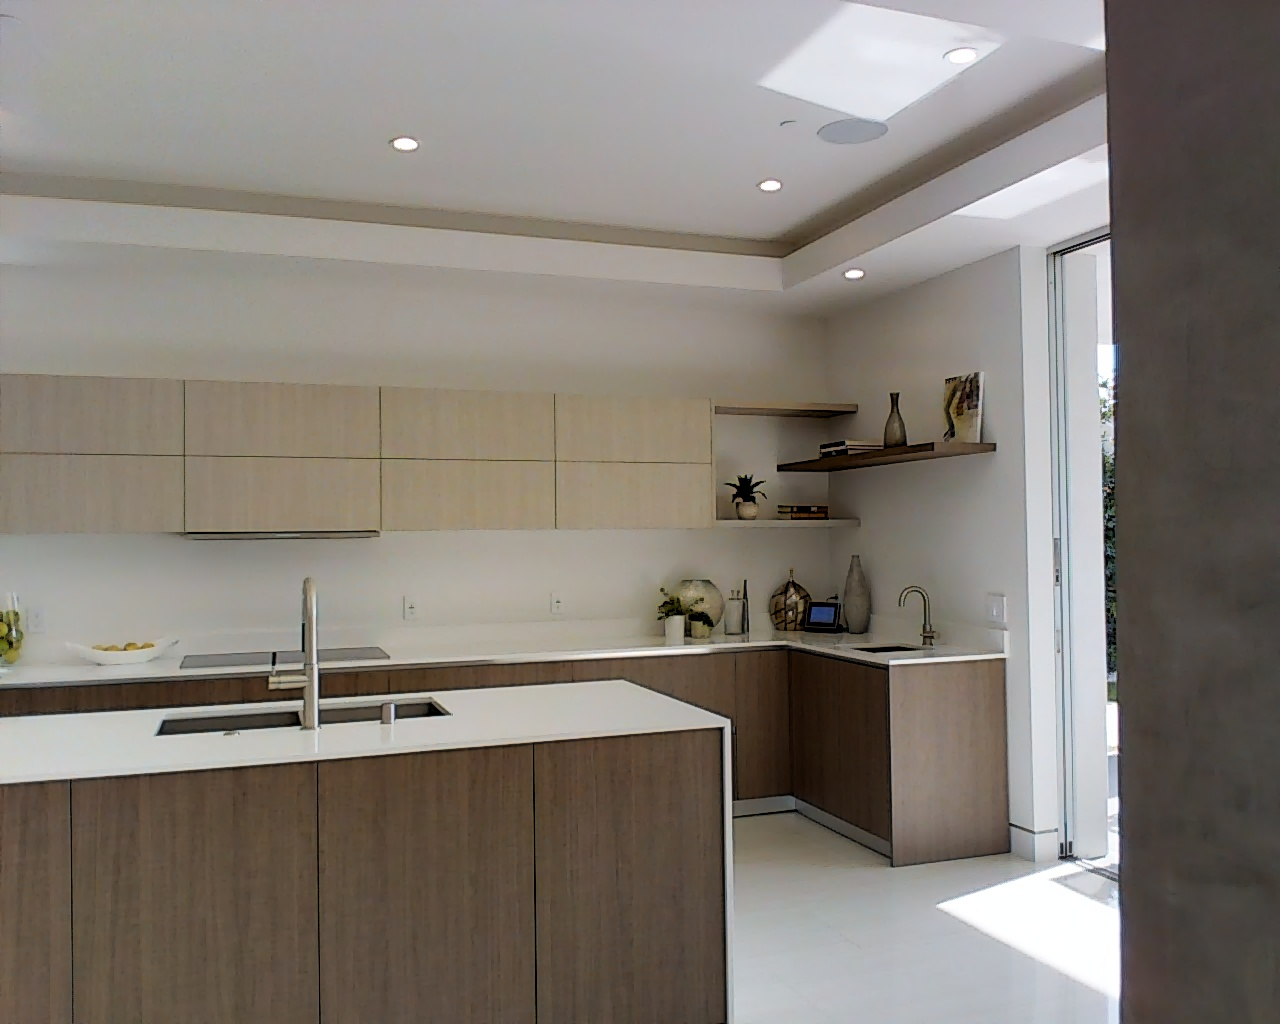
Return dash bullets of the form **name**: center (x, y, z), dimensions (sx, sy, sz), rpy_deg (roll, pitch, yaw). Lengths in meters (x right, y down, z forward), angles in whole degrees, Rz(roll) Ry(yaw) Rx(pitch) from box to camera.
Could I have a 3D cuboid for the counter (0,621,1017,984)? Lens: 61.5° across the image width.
- **counter**: center (-0.730, 1.141, 5.090), dimensions (4.728, 0.950, 1.700), rpy_deg (0, -1, -20)
